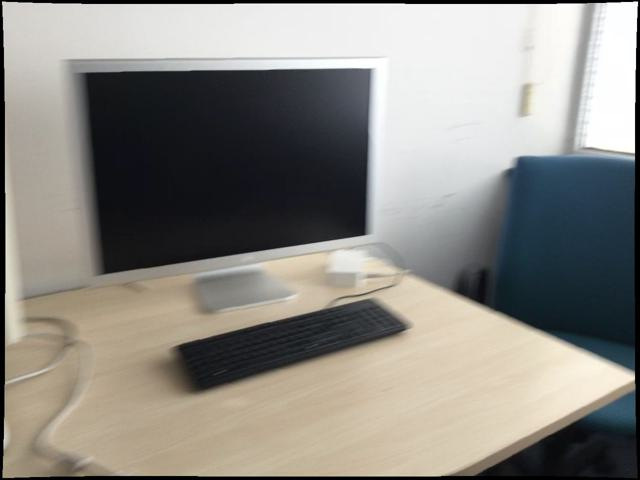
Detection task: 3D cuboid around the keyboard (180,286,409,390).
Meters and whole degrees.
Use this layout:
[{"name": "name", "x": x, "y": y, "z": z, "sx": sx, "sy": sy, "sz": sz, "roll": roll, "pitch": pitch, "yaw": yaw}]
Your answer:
[{"name": "keyboard", "x": -0.040, "y": 0.180, "z": 1.150, "sx": 0.440, "sy": 0.030, "sz": 0.150, "roll": -12, "pitch": 22, "yaw": -31}]
